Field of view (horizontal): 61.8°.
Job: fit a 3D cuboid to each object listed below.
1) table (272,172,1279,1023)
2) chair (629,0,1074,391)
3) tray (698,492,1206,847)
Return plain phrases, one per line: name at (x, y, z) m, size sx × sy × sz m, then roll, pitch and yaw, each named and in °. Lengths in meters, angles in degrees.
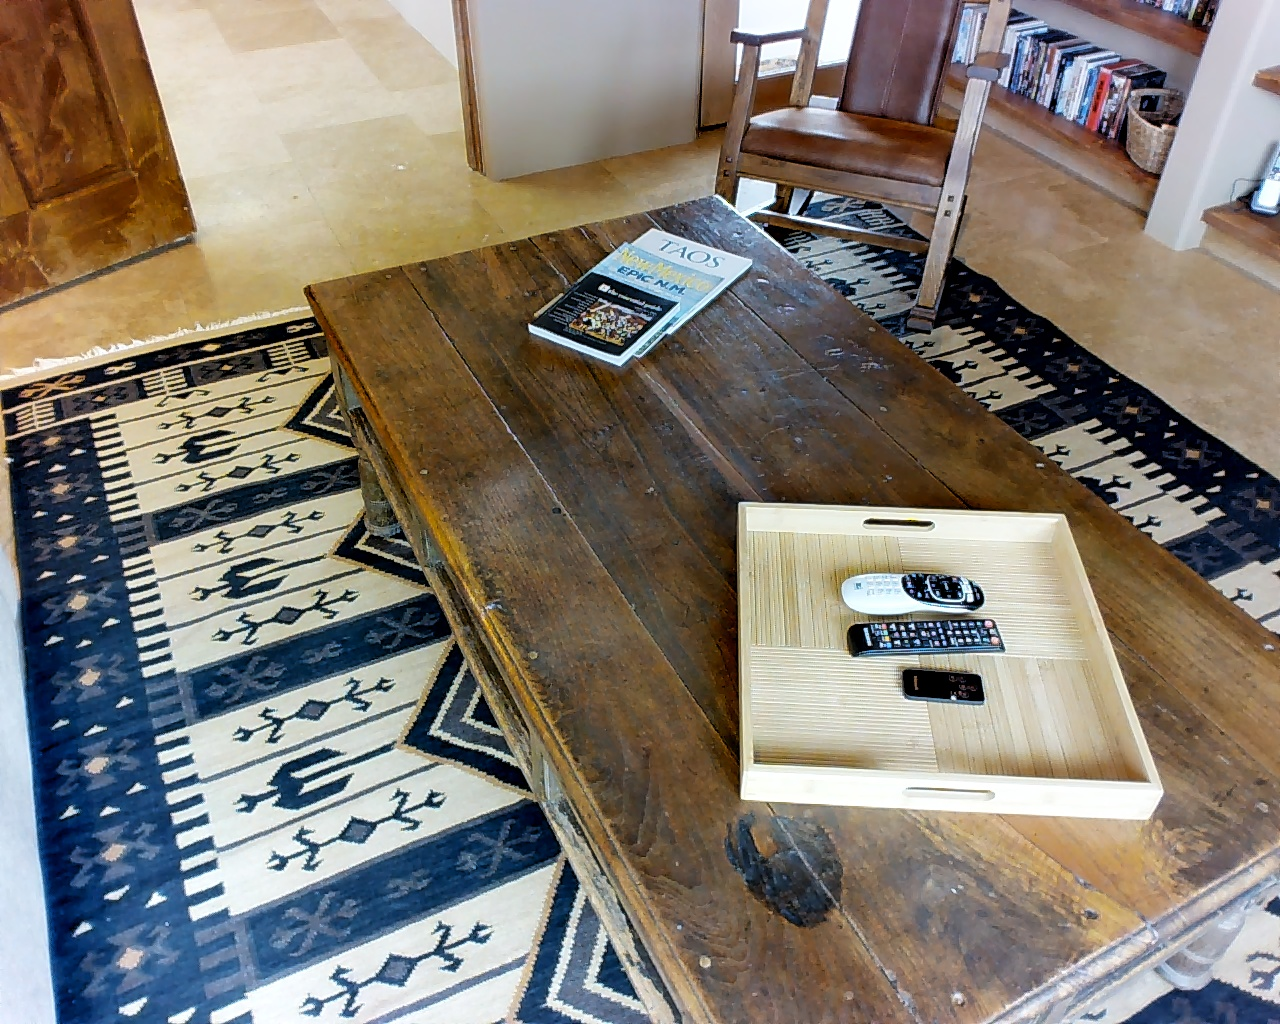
table at (0.110, 0.120, 1.660) m, size 0.900 × 0.540 × 1.610 m, roll -18°, pitch 44°, yaw -19°
chair at (0.630, -1.130, 2.750) m, size 0.700 × 1.210 × 0.960 m, roll 26°, pitch 32°, yaw 9°
tray at (0.310, 0.150, 1.210) m, size 0.480 × 0.040 × 0.460 m, roll 2°, pitch 41°, yaw 2°
